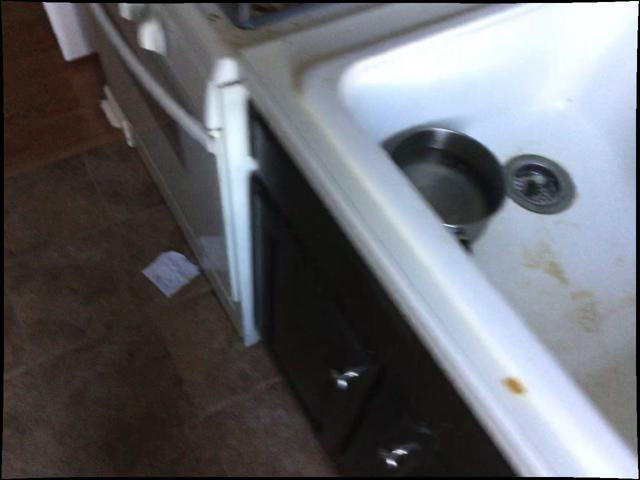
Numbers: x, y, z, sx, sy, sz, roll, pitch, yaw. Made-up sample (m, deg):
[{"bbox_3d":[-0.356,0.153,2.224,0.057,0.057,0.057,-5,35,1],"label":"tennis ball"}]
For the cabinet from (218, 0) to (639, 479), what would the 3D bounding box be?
[{"bbox_3d":[0.309,0.180,1.030,0.659,0.851,0.750,-27,66,-21],"label":"cabinet"}]

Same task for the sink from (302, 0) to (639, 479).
[{"bbox_3d":[0.369,-0.010,0.750,0.559,0.230,0.560,-27,66,-21],"label":"sink"}]
